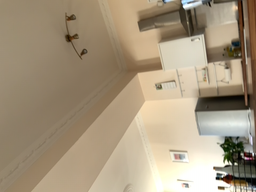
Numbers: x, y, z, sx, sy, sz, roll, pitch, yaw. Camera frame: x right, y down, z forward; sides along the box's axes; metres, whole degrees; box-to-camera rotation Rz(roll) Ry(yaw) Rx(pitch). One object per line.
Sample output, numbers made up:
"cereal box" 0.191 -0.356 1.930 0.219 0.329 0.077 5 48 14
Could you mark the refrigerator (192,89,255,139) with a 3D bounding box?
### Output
"refrigerator" 2.090 0.310 3.750 0.710 1.680 0.570 -53 -48 -53
